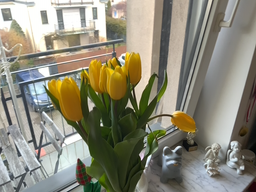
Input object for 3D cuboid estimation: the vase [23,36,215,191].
[{"bbox_3d":[-0.020,0.160,0.580,0.330,0.560,0.240,-18,33,-32],"label":"vase"}]
